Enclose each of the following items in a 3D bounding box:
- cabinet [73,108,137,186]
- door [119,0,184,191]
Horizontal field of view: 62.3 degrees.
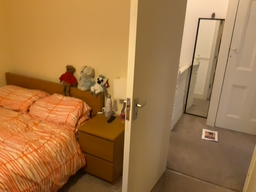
[{"bbox_3d":[-0.230,0.510,2.270,0.440,0.530,0.520,12,22,23],"label":"cabinet"},{"bbox_3d":[0.190,0.020,1.680,0.080,2.060,0.780,14,23,26],"label":"door"}]
